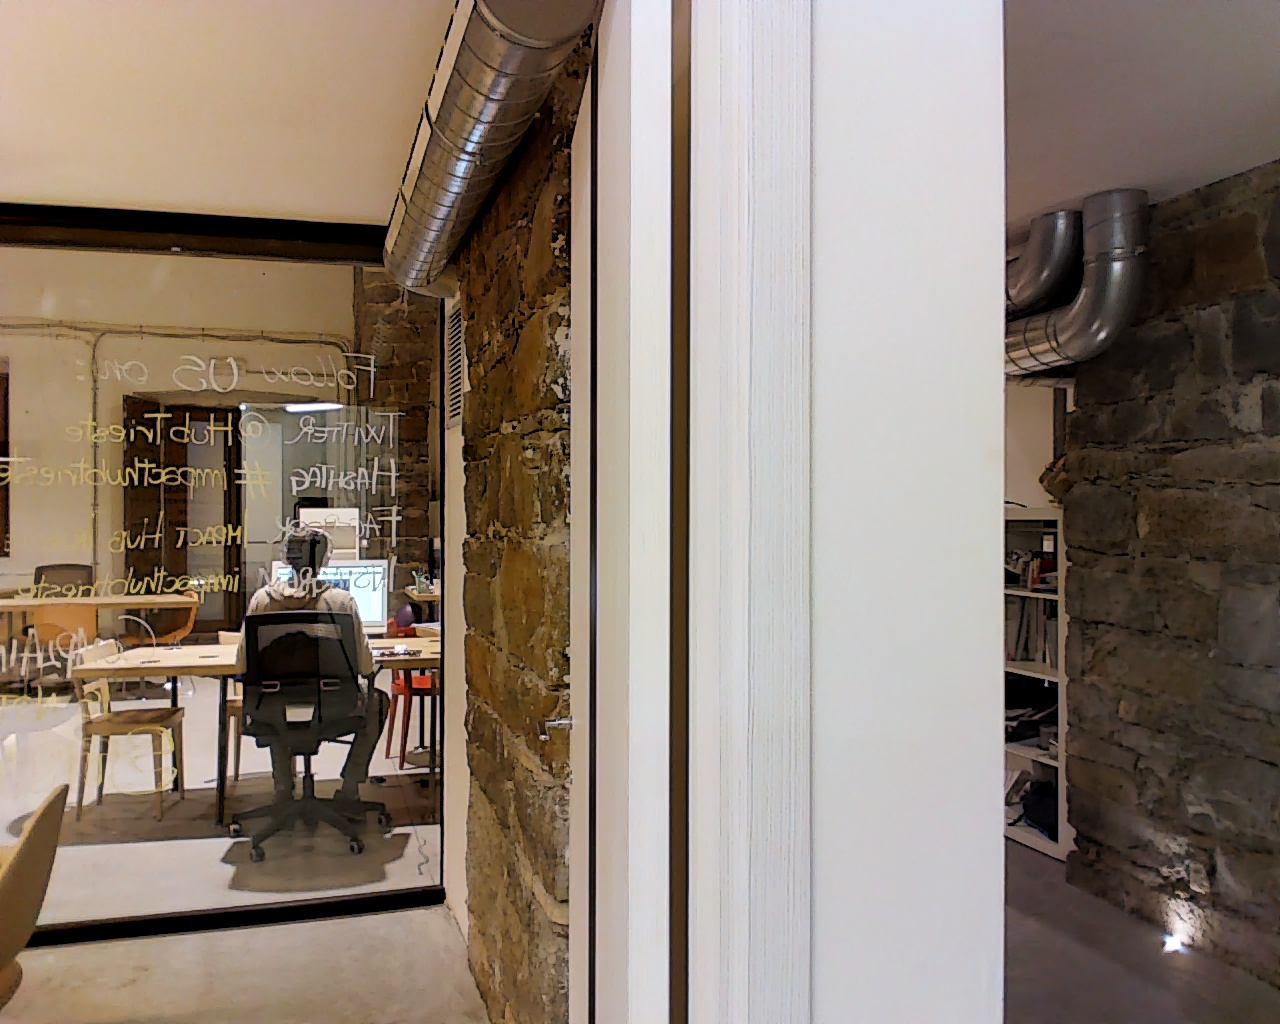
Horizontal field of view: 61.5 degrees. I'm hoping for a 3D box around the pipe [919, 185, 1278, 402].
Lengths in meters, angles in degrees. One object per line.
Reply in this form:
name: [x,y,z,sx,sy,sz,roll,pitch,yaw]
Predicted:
pipe: [1.660,-0.760,4.070,0.670,0.560,1.140,0,0,-17]
